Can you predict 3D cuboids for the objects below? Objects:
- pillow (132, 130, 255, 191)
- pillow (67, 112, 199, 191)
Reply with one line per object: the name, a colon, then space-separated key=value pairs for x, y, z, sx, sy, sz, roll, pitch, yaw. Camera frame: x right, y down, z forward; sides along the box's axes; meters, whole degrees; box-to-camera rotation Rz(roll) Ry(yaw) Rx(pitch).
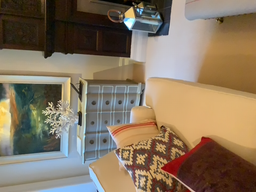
pillow: x=0.380 y=0.420 z=0.880 sx=0.610 sy=0.610 sz=0.300 roll=6 pitch=100 yaw=15
pillow: x=0.060 y=0.310 z=1.400 sx=0.720 sy=0.510 sz=0.170 roll=10 pitch=102 yaw=21
